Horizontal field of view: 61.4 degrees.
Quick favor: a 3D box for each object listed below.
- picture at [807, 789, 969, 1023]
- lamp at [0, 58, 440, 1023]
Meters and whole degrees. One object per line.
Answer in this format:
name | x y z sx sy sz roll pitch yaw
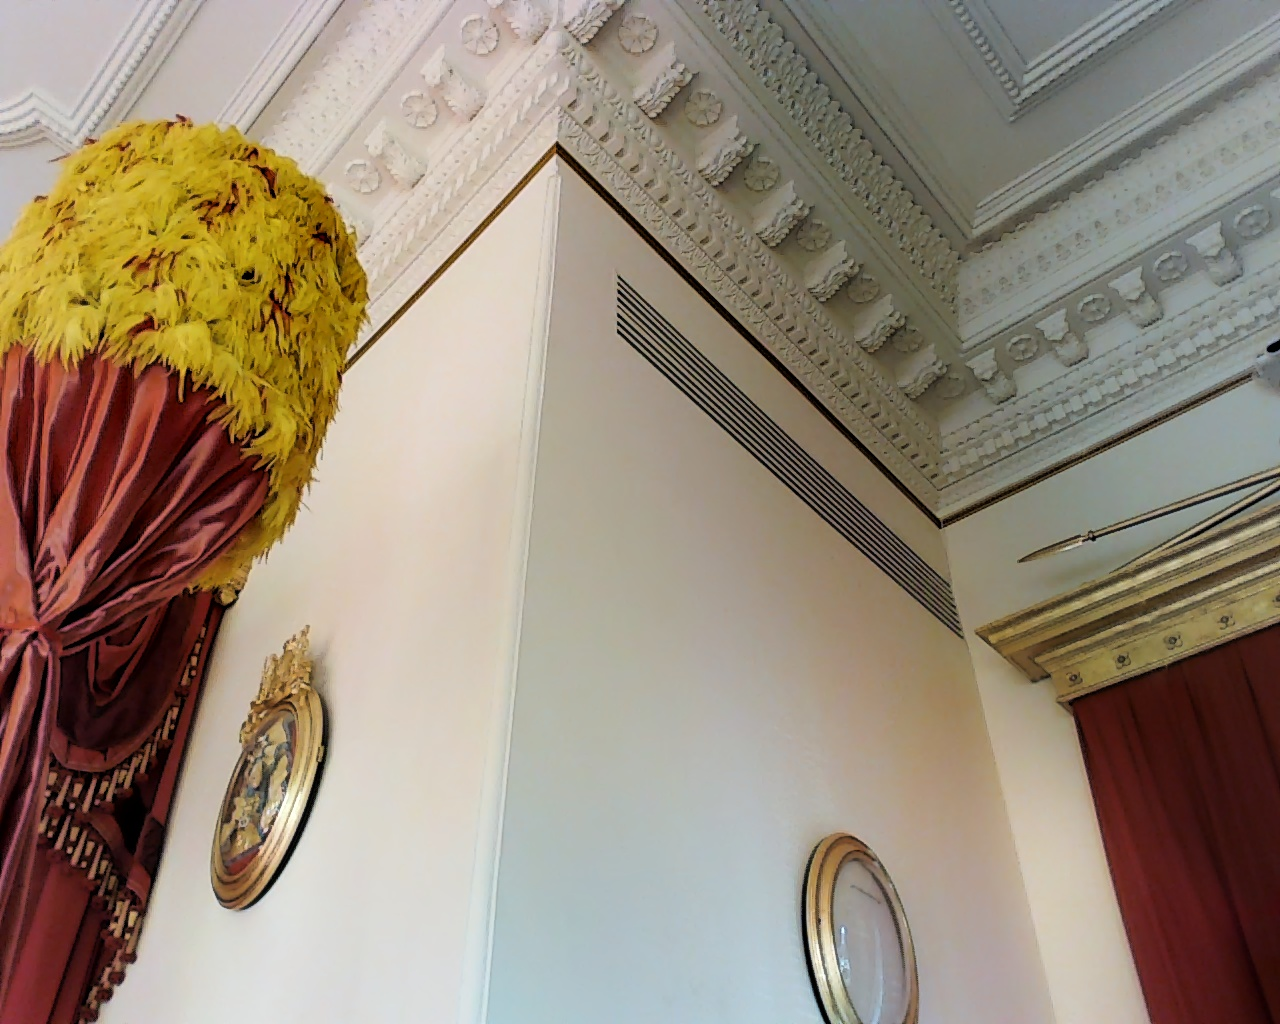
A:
picture | 0.620 1.060 2.640 0.060 0.610 0.530 -31 -50 30
lamp | -0.800 0.040 1.630 0.590 1.520 0.600 -13 -44 14
